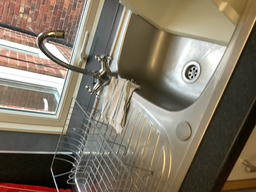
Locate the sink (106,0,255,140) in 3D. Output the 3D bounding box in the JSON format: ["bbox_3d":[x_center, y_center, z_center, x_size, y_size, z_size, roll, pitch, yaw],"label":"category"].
[{"bbox_3d":[0.170,-0.200,0.600,0.470,0.180,0.450,39,114,54],"label":"sink"}]
